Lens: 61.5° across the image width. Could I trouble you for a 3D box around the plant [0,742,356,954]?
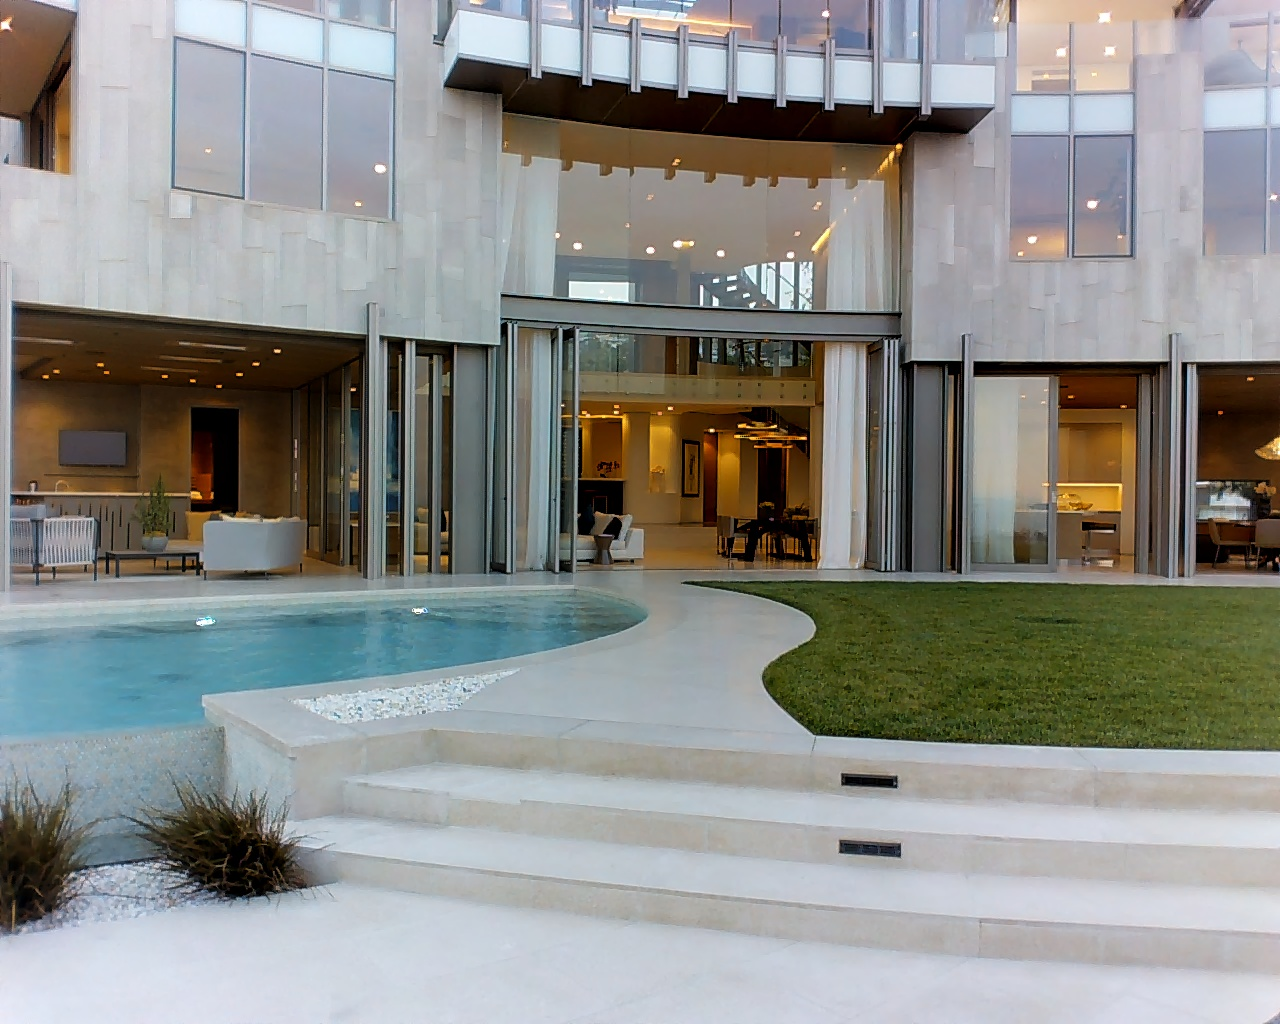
[{"bbox_3d":[-3.250,1.220,3.590,4.429,0.520,0.600,0,0,-17],"label":"plant"}]
